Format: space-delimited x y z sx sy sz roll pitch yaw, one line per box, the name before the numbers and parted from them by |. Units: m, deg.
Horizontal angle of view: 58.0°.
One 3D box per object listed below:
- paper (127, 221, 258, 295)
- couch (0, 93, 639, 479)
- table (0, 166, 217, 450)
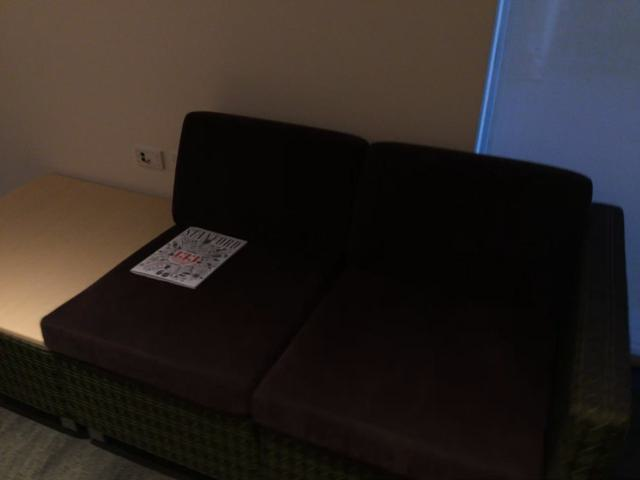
paper | -0.340 0.040 1.590 0.230 0.020 0.290 14 30 18
couch | 0.060 0.200 1.490 1.290 0.790 0.790 14 30 18
table | -0.860 0.140 1.880 0.740 0.410 0.750 14 30 18
